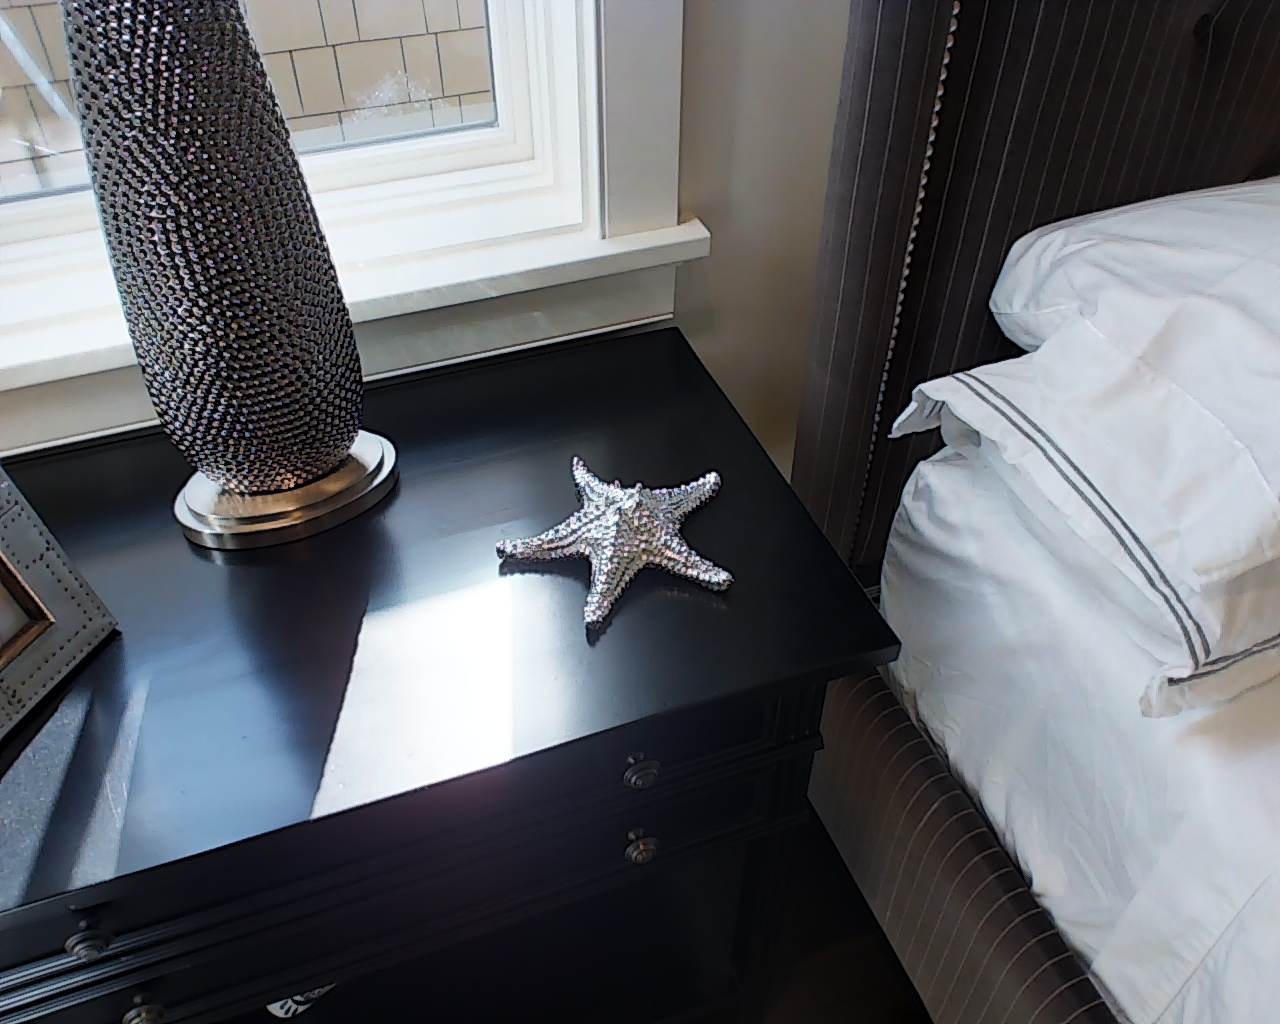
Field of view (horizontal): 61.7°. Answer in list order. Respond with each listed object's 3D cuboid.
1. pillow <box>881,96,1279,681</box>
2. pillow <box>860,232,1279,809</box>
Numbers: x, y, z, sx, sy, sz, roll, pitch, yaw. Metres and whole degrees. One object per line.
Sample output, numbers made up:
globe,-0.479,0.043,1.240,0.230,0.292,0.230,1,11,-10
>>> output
pillow,0.760,-0.200,1.050,0.880,0.250,0.470,-13,43,-13
pillow,0.770,-0.080,1.140,0.900,0.200,0.510,-13,43,-14
